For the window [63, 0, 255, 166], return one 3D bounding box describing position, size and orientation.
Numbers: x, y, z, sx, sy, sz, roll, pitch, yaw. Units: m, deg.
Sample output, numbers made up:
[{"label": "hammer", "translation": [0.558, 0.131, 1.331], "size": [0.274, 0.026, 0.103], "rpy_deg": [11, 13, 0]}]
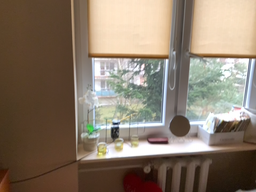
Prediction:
[{"label": "window", "translation": [0.390, -0.350, 1.470], "size": [1.560, 1.580, 0.300], "rpy_deg": [0, 13, -8]}]
